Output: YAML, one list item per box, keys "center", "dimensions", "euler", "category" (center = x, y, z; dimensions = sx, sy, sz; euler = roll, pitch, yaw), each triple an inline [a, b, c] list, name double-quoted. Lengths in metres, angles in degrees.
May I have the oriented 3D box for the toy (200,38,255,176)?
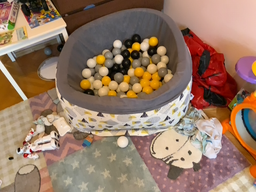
- center: [0.730, 0.080, 1.140]
  dimensions: [0.280, 0.520, 0.550]
  euler: [-22, 54, -14]
  category: "toy"

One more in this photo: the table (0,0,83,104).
- center: [-0.740, -0.400, 1.650]
  dimensions: [0.500, 0.490, 0.610]
  euler: [-24, 55, -14]
  category: "table"

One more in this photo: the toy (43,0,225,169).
- center: [-0.030, -0.140, 1.440]
  dimensions: [0.800, 0.440, 0.880]
  euler: [-20, 54, -11]
  category: "toy"

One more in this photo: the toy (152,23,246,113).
- center: [0.460, -0.220, 1.510]
  dimensions: [0.310, 0.260, 0.560]
  euler: [-24, 55, -15]
  category: "toy"
